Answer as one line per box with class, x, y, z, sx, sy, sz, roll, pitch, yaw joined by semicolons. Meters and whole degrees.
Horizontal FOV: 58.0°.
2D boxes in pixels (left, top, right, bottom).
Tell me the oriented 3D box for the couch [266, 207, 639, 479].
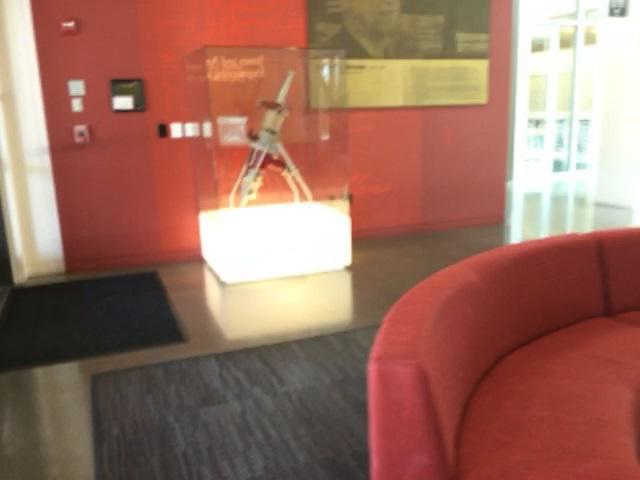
couch;1.410;0.390;2.230;2.950;0.770;1.200;-9;14;-21
